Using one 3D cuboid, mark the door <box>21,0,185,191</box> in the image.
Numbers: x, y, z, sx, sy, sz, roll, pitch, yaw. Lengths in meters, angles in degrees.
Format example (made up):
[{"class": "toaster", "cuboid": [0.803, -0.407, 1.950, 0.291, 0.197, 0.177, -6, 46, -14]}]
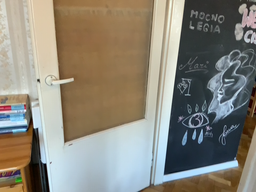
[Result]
[{"class": "door", "cuboid": [-0.100, -0.080, 1.340, 0.910, 1.930, 0.200, -11, 25, -33]}]
